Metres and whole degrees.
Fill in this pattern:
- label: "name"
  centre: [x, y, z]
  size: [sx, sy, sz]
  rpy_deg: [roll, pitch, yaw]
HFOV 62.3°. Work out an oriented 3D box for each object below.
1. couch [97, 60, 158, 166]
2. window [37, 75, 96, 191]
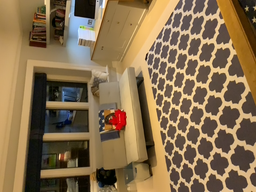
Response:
- label: "couch"
  centre: [-0.100, 0.320, 3.970]
  size: [0.890, 0.700, 1.700]
  rpy_deg: [125, 142, -56]
- label: "window"
  centre: [-1.270, 0.800, 4.460]
  size: [0.130, 1.040, 2.750]
  rpy_deg: [127, 141, -57]
